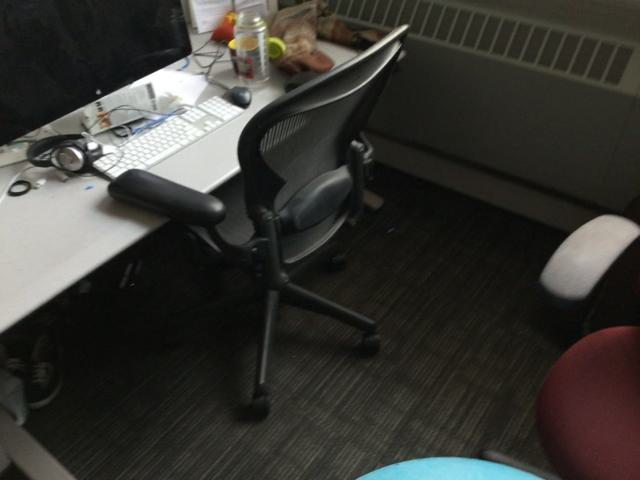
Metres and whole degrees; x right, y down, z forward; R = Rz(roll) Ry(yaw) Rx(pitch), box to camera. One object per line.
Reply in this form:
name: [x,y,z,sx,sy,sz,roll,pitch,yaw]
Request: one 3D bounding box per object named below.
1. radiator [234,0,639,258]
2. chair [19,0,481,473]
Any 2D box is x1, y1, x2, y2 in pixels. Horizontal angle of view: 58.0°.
radiator: [0.950,-0.340,1.740,2.920,0.650,0.320,25,44,26]
chair: [-0.130,-0.100,1.540,0.670,0.970,0.730,25,44,26]
